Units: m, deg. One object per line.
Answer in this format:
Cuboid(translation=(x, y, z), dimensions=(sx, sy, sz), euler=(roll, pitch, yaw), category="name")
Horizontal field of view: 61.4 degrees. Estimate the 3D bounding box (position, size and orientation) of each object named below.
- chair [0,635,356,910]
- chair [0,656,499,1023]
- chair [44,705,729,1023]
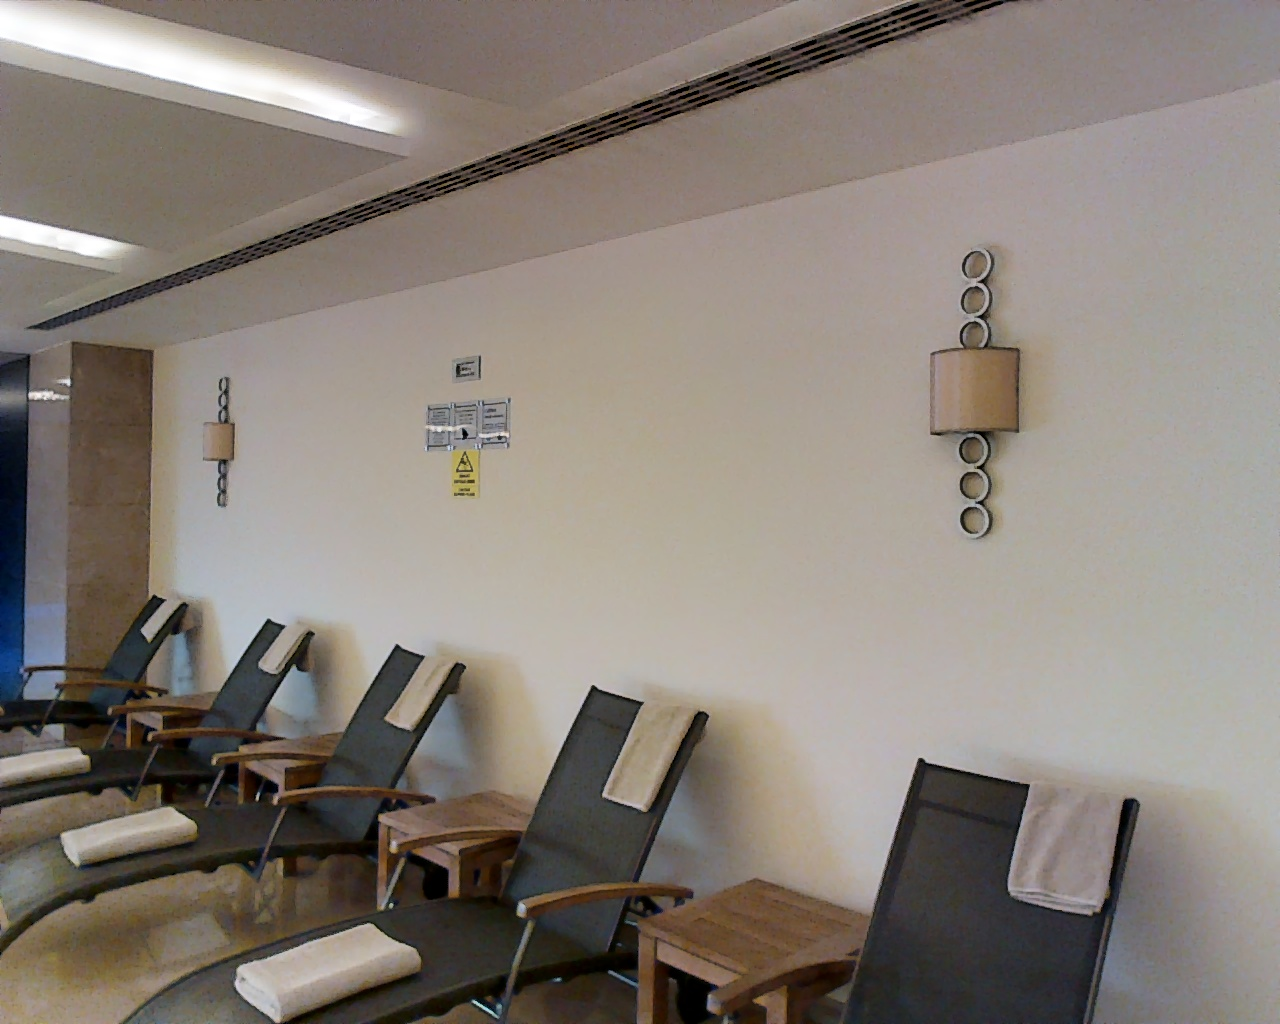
Cuboid(translation=(-2.300, 1.090, 4.820), dimensions=(1.850, 0.900, 0.730), euler=(1, 0, -44), category="chair")
Cuboid(translation=(-1.480, 1.090, 3.940), dimensions=(1.800, 0.920, 0.730), euler=(1, 0, -42), category="chair")
Cuboid(translation=(-0.600, 1.120, 2.990), dimensions=(1.720, 0.890, 0.700), euler=(1, 0, -43), category="chair")
